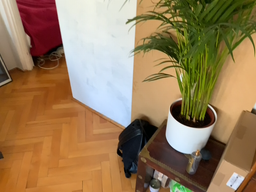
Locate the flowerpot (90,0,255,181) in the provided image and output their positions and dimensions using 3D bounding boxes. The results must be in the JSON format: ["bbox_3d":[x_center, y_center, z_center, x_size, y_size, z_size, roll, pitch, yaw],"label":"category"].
[{"bbox_3d":[0.300,-0.310,1.050,0.880,1.230,0.440,25,44,25],"label":"flowerpot"}]
